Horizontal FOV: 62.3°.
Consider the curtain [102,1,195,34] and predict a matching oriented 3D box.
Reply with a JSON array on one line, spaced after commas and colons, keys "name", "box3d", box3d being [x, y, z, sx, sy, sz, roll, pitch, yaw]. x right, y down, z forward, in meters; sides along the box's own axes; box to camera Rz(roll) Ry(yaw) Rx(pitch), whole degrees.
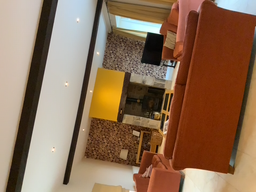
[{"name": "curtain", "box3d": [0.560, -2.240, 6.160, 0.750, 2.570, 0.200, 140, 140, -88]}]

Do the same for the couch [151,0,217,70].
[{"name": "couch", "box3d": [1.270, -1.420, 5.390, 2.000, 0.920, 1.110, -178, 98, -89]}]
